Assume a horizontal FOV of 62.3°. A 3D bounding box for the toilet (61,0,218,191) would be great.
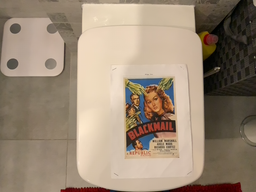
[{"bbox_3d":[0.030,0.020,0.760,0.360,0.480,0.530,2,81,-1],"label":"toilet"}]
